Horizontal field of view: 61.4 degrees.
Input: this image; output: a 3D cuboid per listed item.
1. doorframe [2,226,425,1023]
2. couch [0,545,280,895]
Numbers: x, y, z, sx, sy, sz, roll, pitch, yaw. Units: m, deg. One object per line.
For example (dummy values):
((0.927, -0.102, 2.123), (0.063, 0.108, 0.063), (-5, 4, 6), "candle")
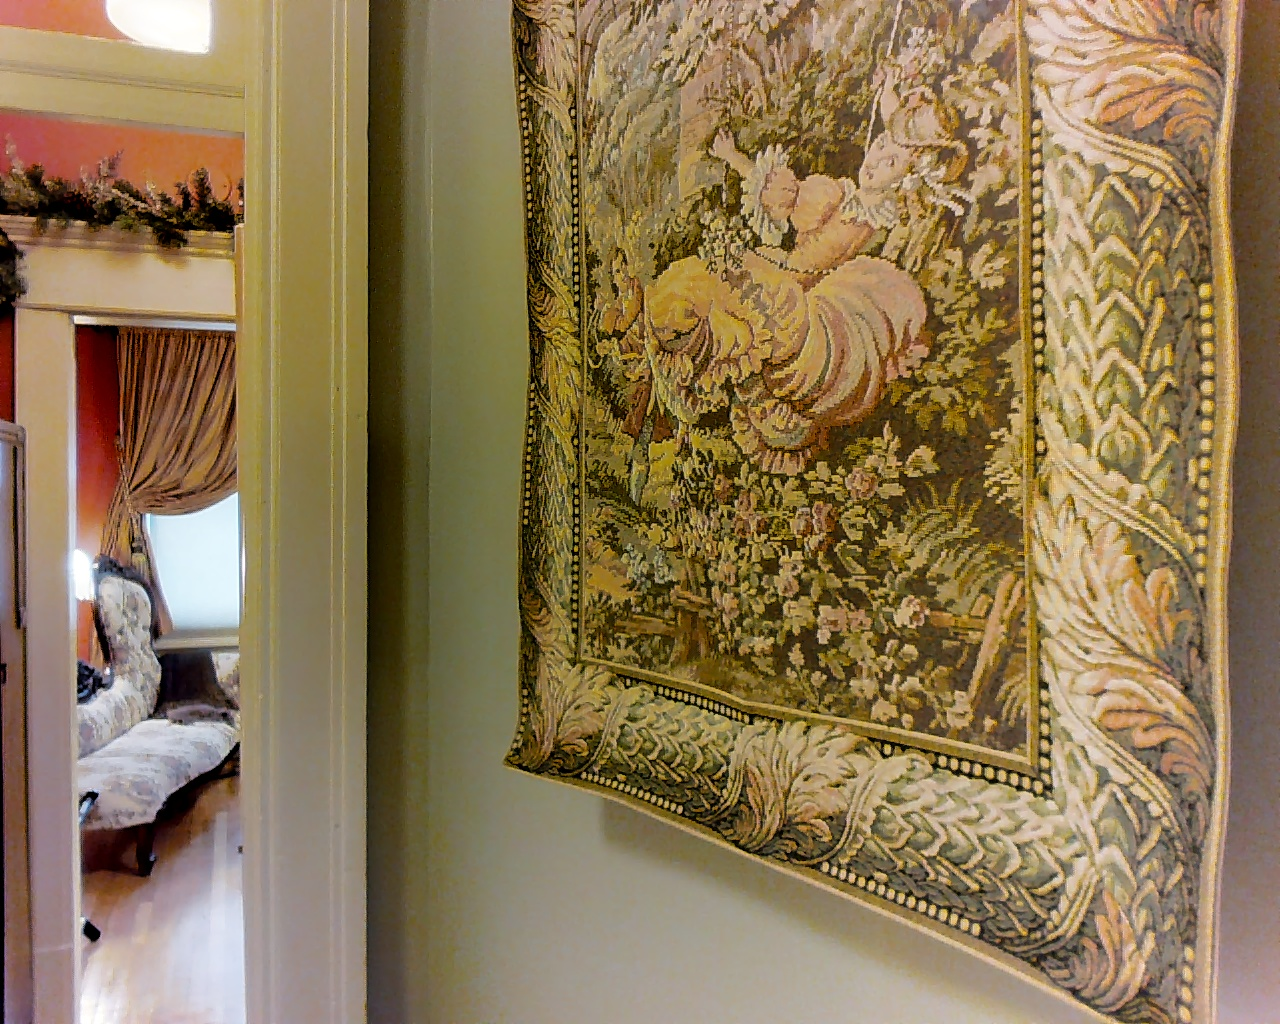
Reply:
((-1.170, 0.380, 3.050), (1.080, 2.231, 0.170), (0, 1, -21), "doorframe")
((-2.349, 0.820, 5.030), (0.770, 1.260, 1.840), (0, 1, -2), "couch")
